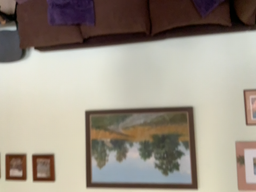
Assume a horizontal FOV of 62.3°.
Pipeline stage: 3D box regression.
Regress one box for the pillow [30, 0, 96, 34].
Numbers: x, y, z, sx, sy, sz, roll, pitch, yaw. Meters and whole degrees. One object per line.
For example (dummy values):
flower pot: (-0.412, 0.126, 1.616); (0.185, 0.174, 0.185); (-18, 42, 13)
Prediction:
pillow: (-0.520, -0.750, 1.740); (0.410, 0.330, 0.310); (-3, 176, 11)
